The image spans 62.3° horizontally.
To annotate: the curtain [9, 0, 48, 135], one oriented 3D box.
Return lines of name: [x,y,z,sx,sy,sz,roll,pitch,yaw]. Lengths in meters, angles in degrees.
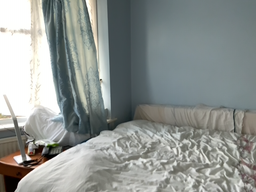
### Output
curtain: [-1.040,-0.360,2.230,0.220,1.510,0.170,1,8,19]
